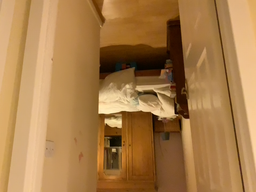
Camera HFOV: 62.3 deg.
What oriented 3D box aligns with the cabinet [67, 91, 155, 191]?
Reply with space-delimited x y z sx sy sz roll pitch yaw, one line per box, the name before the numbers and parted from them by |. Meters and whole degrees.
cabinet | -0.360 1.020 4.850 1.850 2.150 0.430 -3 164 9
